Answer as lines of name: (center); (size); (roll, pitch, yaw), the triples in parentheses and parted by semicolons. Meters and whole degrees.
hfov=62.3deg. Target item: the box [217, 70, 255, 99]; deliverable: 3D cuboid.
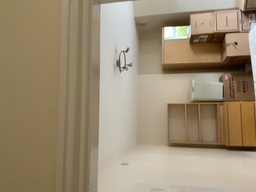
box: (2.220, -0.210, 4.170); (0.510, 0.760, 0.510); (18, -108, -79)

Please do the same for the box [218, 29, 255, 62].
box: (2.170, -0.920, 3.950); (0.590, 0.800, 0.440); (18, -108, -79)

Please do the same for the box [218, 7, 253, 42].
box: (2.030, -1.340, 4.050); (0.480, 0.490, 0.470); (15, -105, -79)

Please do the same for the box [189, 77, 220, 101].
box: (1.570, -0.140, 4.390); (0.370, 0.550, 0.440); (35, -124, -77)

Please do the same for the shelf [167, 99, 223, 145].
shelf: (1.350, 0.520, 4.390); (0.330, 1.040, 0.880); (23, -113, -78)
